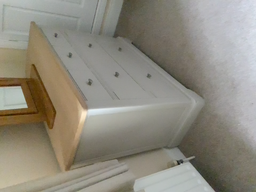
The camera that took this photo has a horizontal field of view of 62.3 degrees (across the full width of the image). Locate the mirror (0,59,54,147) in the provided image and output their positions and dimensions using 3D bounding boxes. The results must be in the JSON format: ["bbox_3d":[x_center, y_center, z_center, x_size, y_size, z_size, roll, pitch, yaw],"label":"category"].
[{"bbox_3d":[-0.840,0.020,1.240,0.560,0.610,0.240,50,131,39],"label":"mirror"}]

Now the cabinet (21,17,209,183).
[{"bbox_3d":[-0.190,-0.090,1.610,1.110,0.920,0.500,48,130,40],"label":"cabinet"}]
